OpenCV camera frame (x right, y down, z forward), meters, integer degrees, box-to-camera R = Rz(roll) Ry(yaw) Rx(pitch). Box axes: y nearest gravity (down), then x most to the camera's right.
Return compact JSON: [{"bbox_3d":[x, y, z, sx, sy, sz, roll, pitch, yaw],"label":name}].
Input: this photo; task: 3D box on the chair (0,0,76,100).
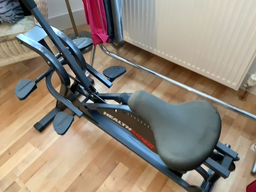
[{"bbox_3d":[-0.830,-0.520,1.380,0.680,0.880,0.610,-15,53,-8],"label":"chair"}]
